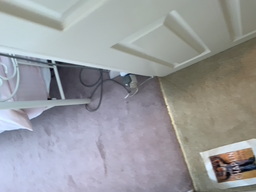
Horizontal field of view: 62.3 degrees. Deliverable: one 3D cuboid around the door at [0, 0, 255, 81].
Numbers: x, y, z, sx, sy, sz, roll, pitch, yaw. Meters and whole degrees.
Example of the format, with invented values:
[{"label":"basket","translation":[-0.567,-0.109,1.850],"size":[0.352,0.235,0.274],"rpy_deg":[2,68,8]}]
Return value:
[{"label":"door","translation":[0.010,-0.210,0.300],"size":[0.770,1.830,0.020],"rpy_deg":[-22,81,27]}]
